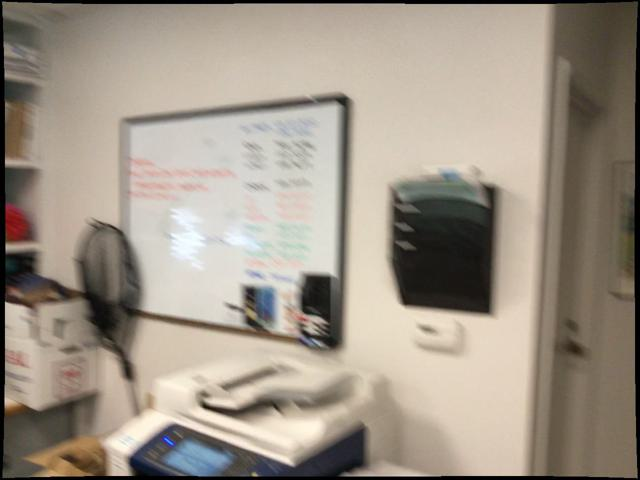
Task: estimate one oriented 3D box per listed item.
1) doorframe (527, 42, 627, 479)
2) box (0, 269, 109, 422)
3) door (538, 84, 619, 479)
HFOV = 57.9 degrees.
[{"bbox_3d":[1.039,0.100,2.300,0.140,1.552,0.830,4,8,35],"label":"doorframe"},{"bbox_3d":[-1.279,0.470,2.740,0.380,0.591,0.350,4,8,35],"label":"box"},{"bbox_3d":[1.059,0.350,2.370,0.130,1.852,0.580,4,8,35],"label":"door"}]
